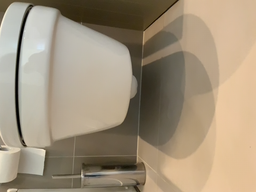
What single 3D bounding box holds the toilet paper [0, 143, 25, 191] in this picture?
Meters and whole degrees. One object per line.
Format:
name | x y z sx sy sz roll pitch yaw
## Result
toilet paper | -0.480 0.270 0.800 0.090 0.140 0.160 -175 88 -75
